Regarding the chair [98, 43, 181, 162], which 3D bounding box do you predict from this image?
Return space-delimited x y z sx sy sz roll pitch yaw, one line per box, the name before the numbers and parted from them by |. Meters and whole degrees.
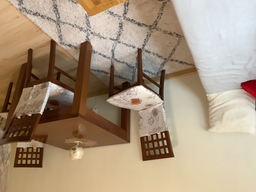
chair | 0.120 0.100 2.160 0.470 0.980 0.620 -21 147 36
